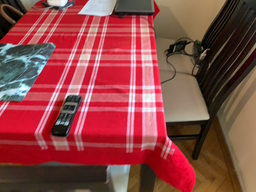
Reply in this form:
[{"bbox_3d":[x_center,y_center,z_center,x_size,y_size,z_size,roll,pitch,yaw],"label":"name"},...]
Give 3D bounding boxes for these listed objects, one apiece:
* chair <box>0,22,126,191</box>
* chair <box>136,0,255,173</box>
[{"bbox_3d":[-0.220,0.300,0.860,0.410,0.990,0.560,-1,42,-2],"label":"chair"},{"bbox_3d":[0.350,-0.030,1.220,0.560,1.010,0.440,2,42,2],"label":"chair"}]
